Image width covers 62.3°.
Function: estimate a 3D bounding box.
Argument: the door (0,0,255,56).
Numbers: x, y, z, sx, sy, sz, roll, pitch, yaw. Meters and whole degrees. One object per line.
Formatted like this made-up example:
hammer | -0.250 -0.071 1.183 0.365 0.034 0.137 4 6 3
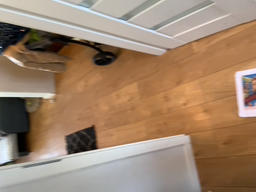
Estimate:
door | -0.120 -0.450 0.870 0.750 2.210 0.080 -7 83 47
